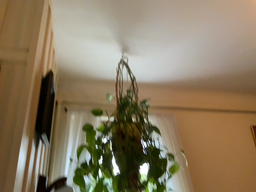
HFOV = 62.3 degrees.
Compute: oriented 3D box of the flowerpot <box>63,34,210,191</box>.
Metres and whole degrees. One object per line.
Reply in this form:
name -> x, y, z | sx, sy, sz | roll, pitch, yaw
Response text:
flowerpot -> 0.000, 0.190, 1.370 | 0.670, 0.980, 0.550 | 1, -25, -7
